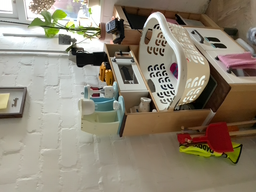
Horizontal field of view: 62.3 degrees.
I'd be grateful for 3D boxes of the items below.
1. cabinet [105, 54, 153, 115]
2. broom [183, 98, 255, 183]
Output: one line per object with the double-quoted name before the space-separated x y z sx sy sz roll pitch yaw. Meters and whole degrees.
"cabinet" -0.010 -0.080 1.360 0.340 0.200 0.210 -108 24 -43
"broom" 0.700 0.220 1.170 0.260 0.640 0.330 106 156 -43
